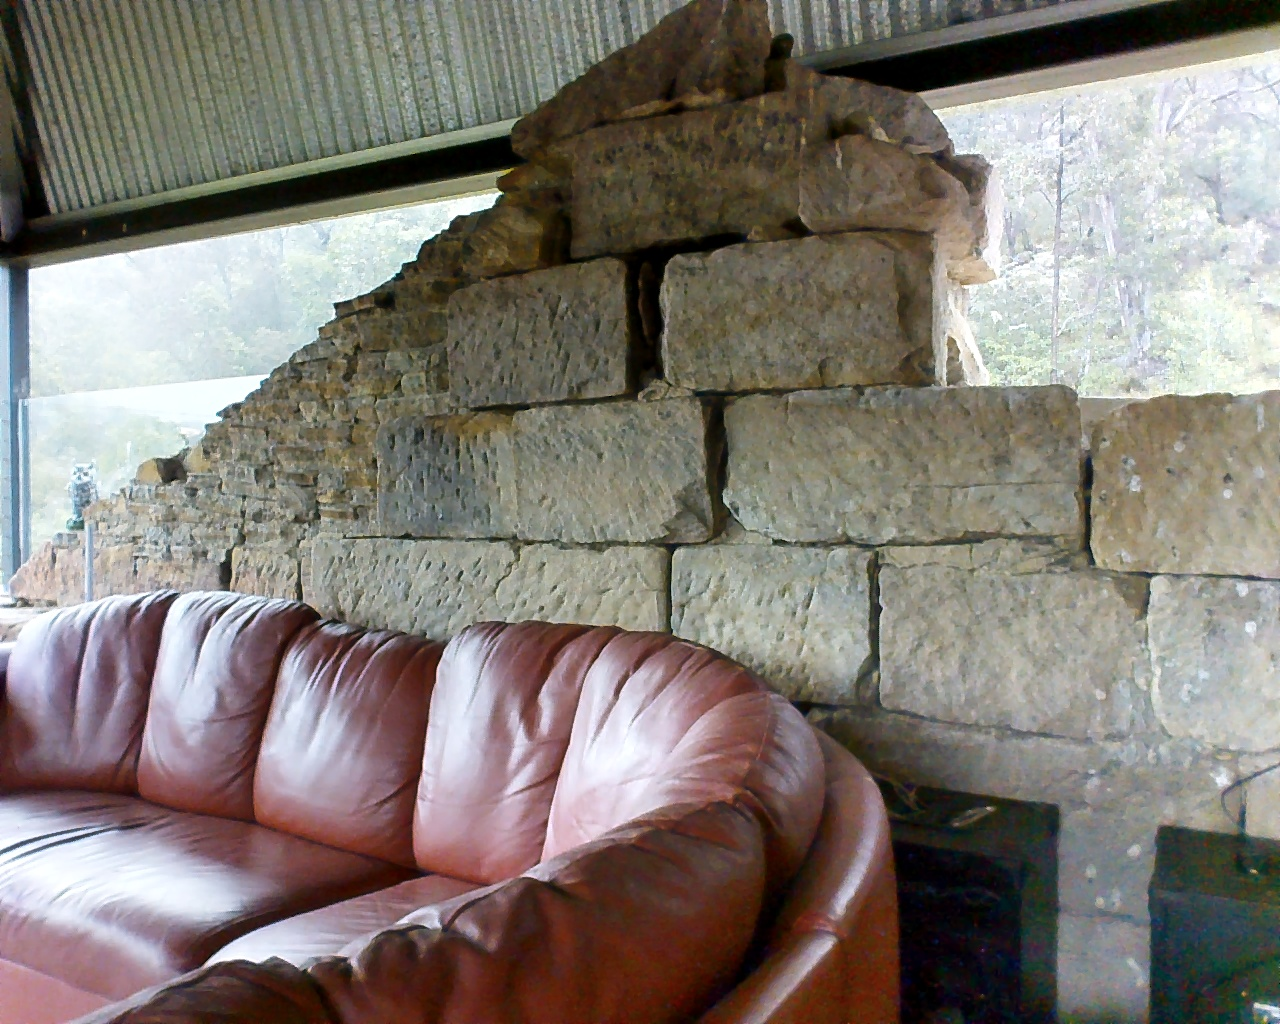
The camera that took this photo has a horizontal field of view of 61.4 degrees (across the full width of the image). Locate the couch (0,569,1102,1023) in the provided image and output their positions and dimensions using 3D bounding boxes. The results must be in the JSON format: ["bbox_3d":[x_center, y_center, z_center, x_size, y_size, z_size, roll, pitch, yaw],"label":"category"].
[{"bbox_3d":[-1.119,0.650,1.300,2.789,0.900,2.600,1,1,30],"label":"couch"}]
